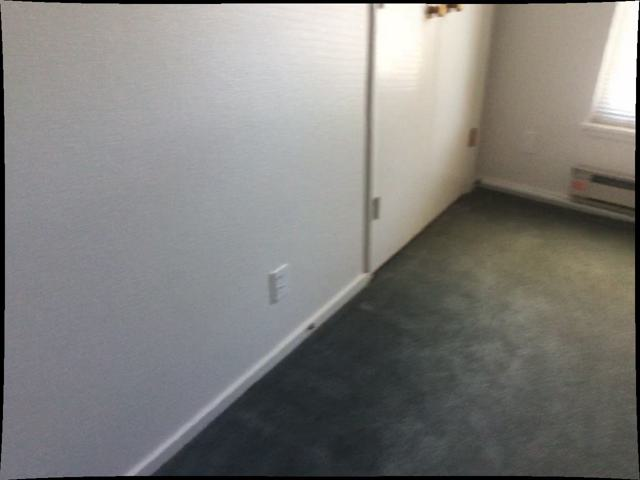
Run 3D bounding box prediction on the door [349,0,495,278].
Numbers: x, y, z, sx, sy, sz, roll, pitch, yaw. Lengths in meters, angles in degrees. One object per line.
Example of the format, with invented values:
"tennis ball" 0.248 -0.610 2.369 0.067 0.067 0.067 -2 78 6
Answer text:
"door" 0.429 -0.962 2.140 0.080 2.072 1.030 20 39 31
